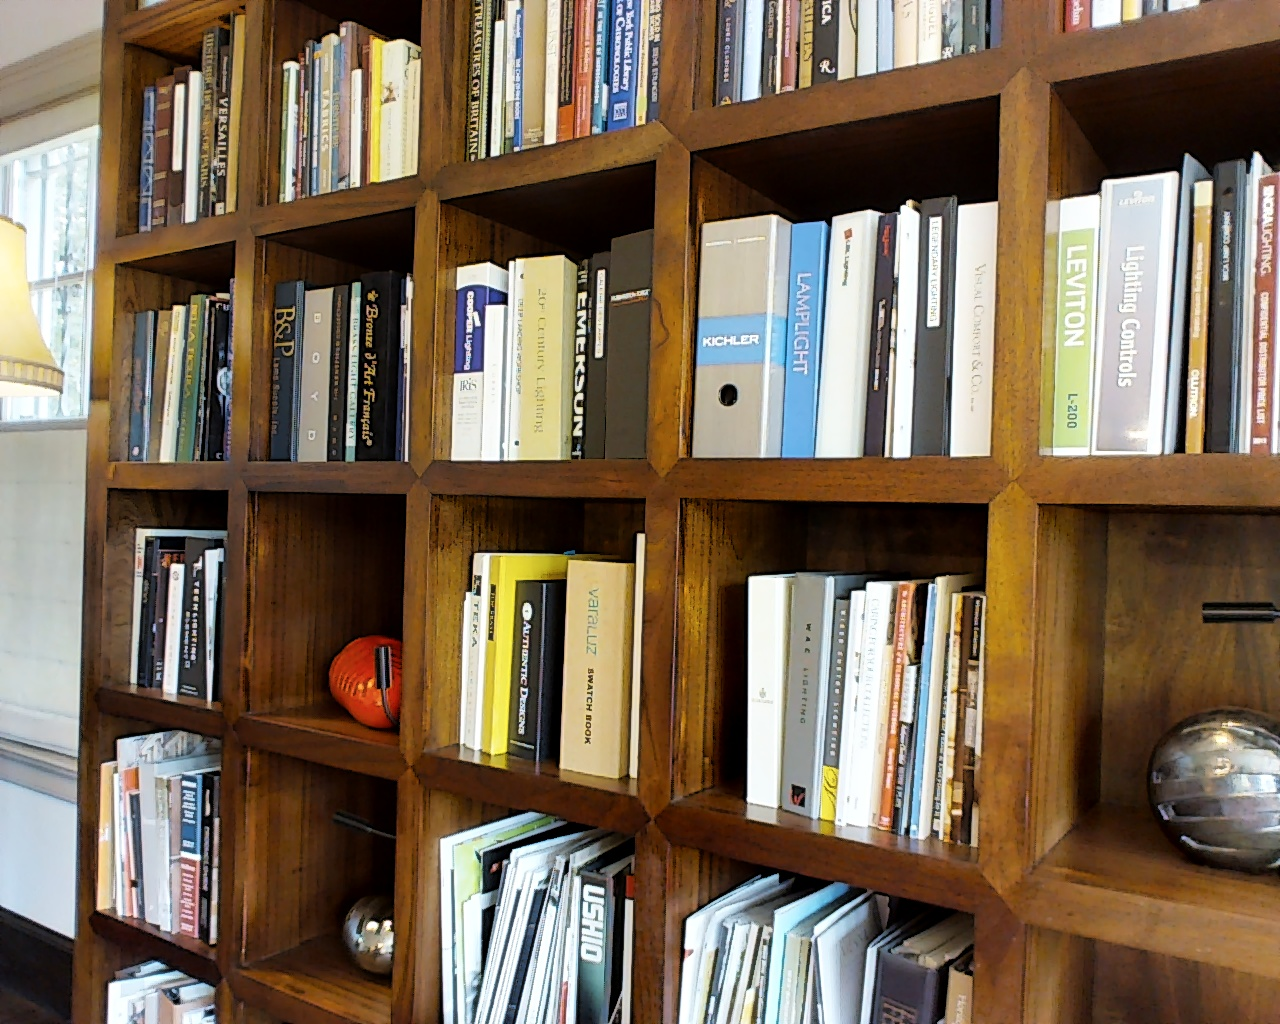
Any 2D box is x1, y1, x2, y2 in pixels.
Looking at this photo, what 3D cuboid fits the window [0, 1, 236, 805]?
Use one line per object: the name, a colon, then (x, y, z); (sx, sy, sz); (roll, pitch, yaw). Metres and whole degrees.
window: (-1.790, -0.300, 3.330); (1.330, 2.140, 0.240); (1, 0, 34)
